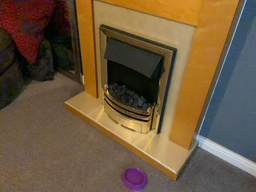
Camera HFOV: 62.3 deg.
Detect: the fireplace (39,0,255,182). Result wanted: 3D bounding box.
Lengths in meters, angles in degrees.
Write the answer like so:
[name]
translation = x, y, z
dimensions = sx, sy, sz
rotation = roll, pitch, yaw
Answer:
[fireplace]
translation = -0.010, -0.190, 1.250
dimensions = 1.030, 1.020, 0.330
rotation = 26, 43, 27
